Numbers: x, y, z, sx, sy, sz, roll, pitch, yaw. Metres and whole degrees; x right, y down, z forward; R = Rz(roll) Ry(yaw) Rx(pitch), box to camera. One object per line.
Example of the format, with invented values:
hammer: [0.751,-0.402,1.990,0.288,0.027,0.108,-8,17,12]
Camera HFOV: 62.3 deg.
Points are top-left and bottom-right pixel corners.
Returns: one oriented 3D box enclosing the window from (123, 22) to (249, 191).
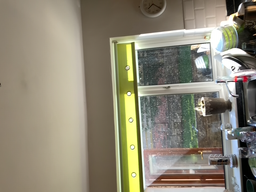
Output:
window: [0.560,0.270,2.180,0.180,1.120,1.920,13,-105,-82]

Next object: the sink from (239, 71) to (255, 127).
sink: [1.080,0.030,1.740,0.510,0.110,0.440,20,-113,-81]
